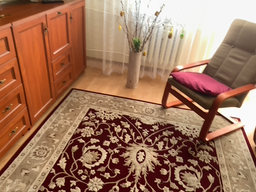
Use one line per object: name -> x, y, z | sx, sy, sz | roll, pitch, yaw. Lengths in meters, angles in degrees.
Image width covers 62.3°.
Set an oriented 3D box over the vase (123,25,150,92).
vase -> 0.110, -0.470, 2.640 | 0.210, 0.680, 0.470 | 9, 32, 4
